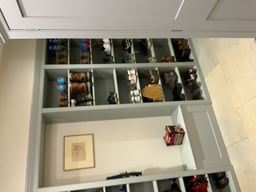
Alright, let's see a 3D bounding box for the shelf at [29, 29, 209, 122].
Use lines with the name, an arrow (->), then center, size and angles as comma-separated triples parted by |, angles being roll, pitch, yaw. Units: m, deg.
shelf -> -0.130, -0.350, 3.030 | 0.380, 2.210, 1.230 | 107, 158, -60
